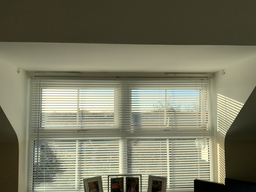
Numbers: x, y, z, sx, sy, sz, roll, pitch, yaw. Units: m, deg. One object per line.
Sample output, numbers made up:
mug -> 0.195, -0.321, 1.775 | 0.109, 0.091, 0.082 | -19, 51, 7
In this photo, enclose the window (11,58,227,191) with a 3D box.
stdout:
window -> -0.060, 0.320, 1.940 | 1.880, 1.320, 0.110 | 0, -5, -3
